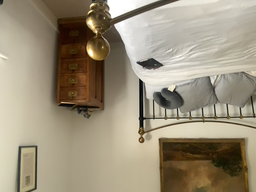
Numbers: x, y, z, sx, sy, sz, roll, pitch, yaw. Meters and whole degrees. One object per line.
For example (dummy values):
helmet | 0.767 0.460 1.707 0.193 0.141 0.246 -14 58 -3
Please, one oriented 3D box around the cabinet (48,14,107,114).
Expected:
cabinet | -0.560 -0.320 2.610 0.400 1.010 0.770 -2 169 9

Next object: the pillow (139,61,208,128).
pillow | 0.490 -0.040 2.430 0.370 0.720 0.200 -28 152 -21
